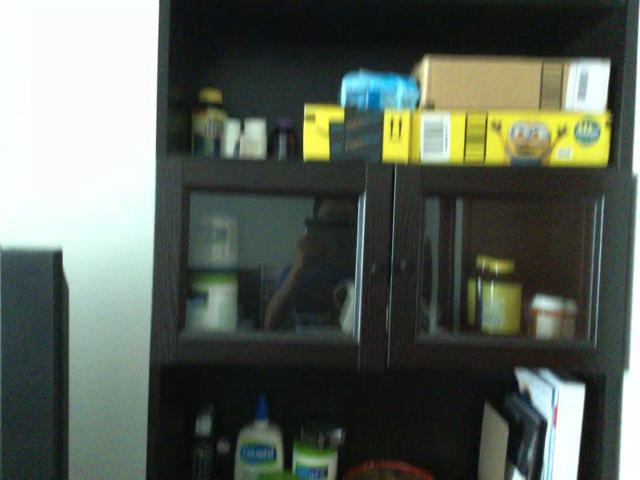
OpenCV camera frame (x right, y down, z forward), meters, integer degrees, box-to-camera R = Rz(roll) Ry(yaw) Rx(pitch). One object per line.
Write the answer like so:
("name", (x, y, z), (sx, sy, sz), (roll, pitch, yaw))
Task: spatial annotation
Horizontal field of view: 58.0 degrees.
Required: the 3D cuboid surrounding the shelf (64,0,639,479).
("shelf", (0.090, 0.550, 1.070), (0.950, 1.970, 0.440), (1, -1, -4))
